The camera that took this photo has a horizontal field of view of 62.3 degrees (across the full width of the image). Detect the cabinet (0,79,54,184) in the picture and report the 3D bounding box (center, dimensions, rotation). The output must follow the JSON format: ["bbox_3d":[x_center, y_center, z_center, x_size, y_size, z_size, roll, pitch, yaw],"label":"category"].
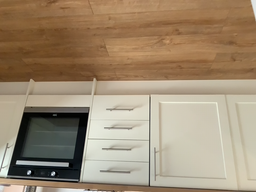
[{"bbox_3d":[-1.140,0.370,2.100,0.420,0.910,0.580,0,157,6],"label":"cabinet"}]
